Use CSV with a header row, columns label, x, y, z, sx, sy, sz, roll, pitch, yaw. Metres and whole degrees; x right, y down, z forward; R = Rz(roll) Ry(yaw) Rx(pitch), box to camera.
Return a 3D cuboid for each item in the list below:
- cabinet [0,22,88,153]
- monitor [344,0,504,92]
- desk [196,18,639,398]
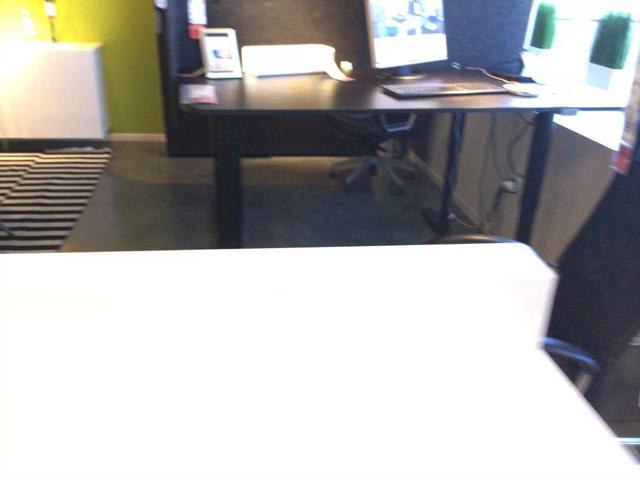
label,x,y,z,sx,sy,sz,roll,pitch,yaw
cabinet,-2.900,-1.100,3.880,2.420,0.800,0.440,1,22,-13
monitor,0.390,-0.830,2.280,0.470,0.390,0.390,1,22,-13
desk,0.220,-0.150,2.280,1.350,1.200,0.810,1,22,-13
